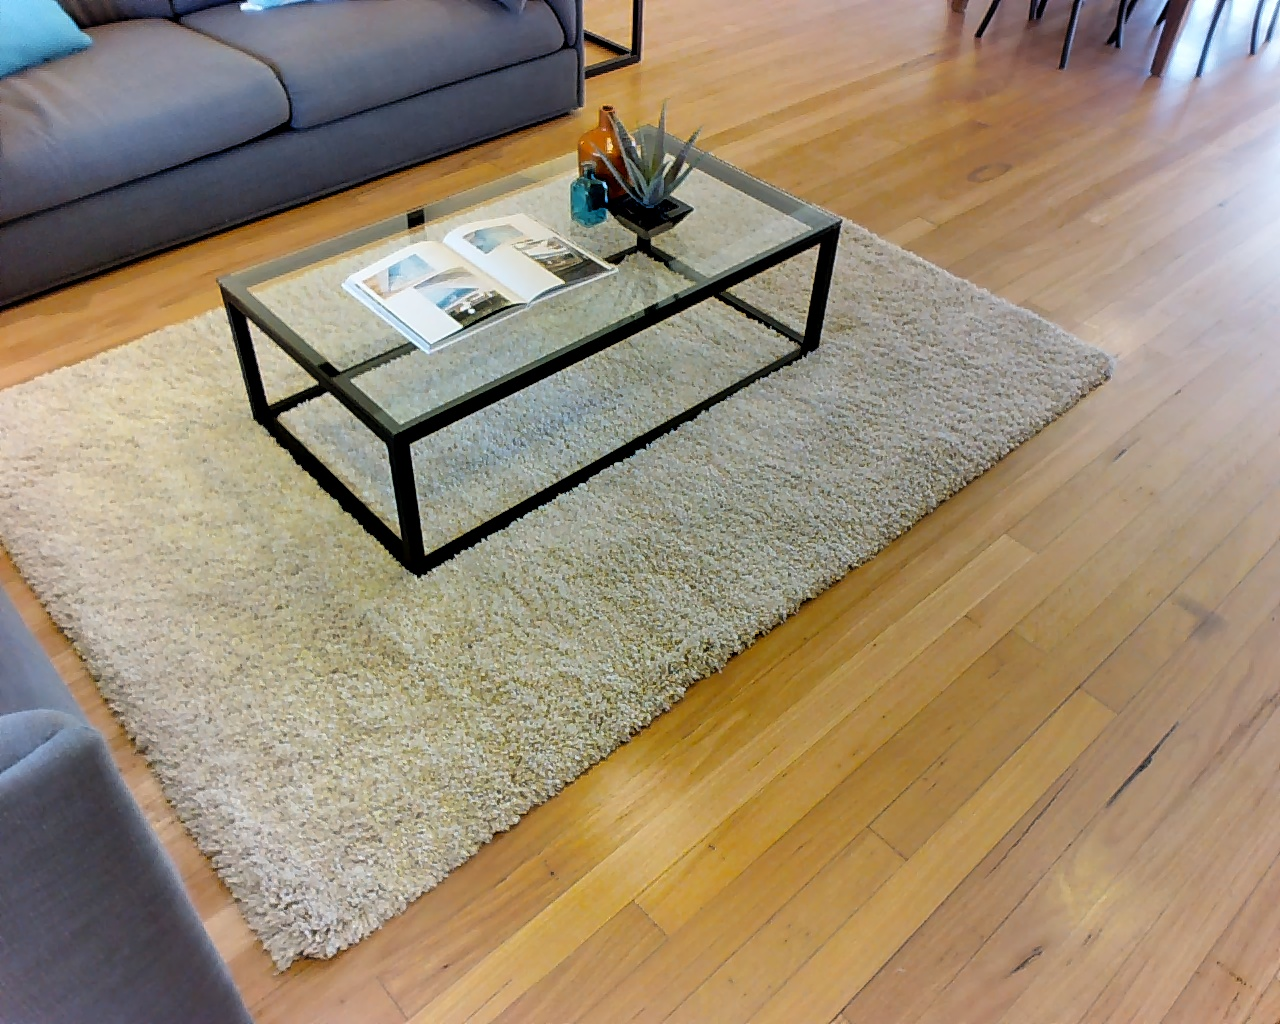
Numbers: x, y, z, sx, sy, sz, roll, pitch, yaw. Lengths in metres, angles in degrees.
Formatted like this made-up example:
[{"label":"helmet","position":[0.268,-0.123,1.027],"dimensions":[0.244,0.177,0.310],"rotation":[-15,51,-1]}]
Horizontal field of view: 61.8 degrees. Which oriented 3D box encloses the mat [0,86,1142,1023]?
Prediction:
[{"label":"mat","position":[-0.570,-0.260,2.500],"dimensions":[3.020,0.070,2.160],"rotation":[-32,53,-31]}]
